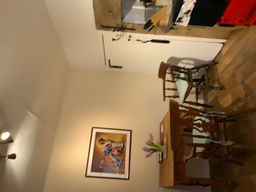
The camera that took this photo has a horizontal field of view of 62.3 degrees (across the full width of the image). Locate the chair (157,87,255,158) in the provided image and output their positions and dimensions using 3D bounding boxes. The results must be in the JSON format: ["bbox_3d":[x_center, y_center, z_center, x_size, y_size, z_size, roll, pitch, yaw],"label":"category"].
[{"bbox_3d":[0.810,0.320,2.300,0.660,0.880,0.550,95,179,-68],"label":"chair"}]

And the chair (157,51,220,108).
[{"bbox_3d":[0.900,-0.260,3.350,0.520,0.770,0.660,95,179,-52],"label":"chair"}]

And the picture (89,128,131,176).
[{"bbox_3d":[-0.260,0.840,3.240,0.030,0.590,0.670,95,179,-66],"label":"picture"}]
